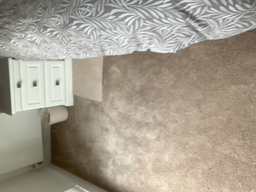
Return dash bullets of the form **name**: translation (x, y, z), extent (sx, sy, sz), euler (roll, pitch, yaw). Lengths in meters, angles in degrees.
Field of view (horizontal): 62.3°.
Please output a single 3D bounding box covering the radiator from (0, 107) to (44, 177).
- **radiator**: translation (-1.190, 0.460, 2.180), extent (0.140, 0.580, 0.610), euler (3, 97, 41)
